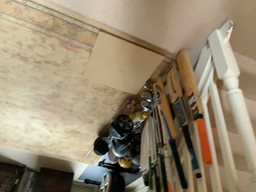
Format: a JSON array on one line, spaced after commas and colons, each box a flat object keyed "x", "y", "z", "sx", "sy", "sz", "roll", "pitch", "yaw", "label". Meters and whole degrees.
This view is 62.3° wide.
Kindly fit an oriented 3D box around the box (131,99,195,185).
[{"x": 0.300, "y": 0.460, "z": 2.070, "sx": 0.390, "sy": 0.590, "sz": 0.550, "roll": 11, "pitch": 141, "yaw": -8, "label": "box"}]
